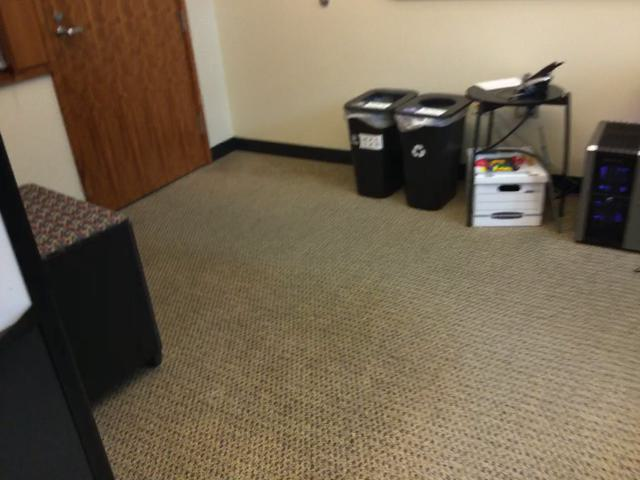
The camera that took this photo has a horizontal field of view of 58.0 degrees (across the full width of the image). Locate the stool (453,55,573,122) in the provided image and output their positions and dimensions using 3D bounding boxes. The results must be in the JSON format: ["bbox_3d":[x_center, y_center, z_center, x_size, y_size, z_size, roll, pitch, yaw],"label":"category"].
[{"bbox_3d":[0.880,-0.700,2.620,0.380,0.180,0.500,12,31,32],"label":"stool"}]

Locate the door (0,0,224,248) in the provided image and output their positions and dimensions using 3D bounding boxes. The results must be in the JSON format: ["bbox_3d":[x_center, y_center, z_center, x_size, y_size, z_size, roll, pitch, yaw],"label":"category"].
[{"bbox_3d":[-1.020,-1.280,2.730,0.190,2.370,1.140,7,28,23],"label":"door"}]

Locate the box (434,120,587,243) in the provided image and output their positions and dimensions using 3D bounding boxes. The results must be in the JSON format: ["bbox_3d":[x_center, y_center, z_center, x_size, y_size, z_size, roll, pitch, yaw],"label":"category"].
[{"bbox_3d":[0.920,-0.310,2.800,0.550,0.370,0.540,12,31,32],"label":"box"}]

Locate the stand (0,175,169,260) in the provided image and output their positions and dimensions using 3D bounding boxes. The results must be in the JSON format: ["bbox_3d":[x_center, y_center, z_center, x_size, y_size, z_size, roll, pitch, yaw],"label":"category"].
[{"bbox_3d":[-0.800,-0.090,1.790,0.550,0.040,0.370,12,31,32],"label":"stand"}]
